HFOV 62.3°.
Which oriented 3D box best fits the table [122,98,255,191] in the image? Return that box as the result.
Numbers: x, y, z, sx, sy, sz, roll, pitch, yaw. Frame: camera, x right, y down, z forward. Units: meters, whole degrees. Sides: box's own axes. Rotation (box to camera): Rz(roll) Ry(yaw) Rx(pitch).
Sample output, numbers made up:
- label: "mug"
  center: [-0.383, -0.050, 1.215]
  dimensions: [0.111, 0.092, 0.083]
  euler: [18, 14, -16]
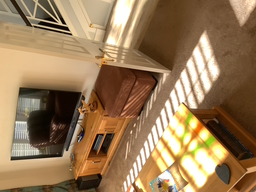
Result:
- label: "table"
  center: [0.460, 0.710, 1.760]
  dimensions: [0.620, 0.430, 1.260]
  euler: [56, 132, 43]

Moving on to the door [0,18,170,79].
- label: "door"
  center: [-0.540, -0.460, 2.010]
  dimensions: [0.730, 1.910, 0.130]
  euler: [45, 123, 49]

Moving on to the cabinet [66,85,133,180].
- label: "cabinet"
  center: [-0.490, 0.570, 3.170]
  dimensions: [0.530, 0.480, 1.350]
  euler: [54, 130, 44]
